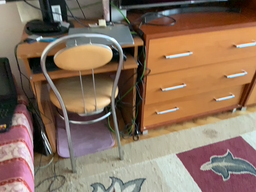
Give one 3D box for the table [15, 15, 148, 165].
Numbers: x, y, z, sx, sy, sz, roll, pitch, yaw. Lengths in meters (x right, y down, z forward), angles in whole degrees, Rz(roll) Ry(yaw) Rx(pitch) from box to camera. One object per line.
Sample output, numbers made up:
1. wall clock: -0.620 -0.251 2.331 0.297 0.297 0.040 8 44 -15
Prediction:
1. table: -0.280 -0.060 1.400 0.620 0.740 0.500 -11 39 -16
